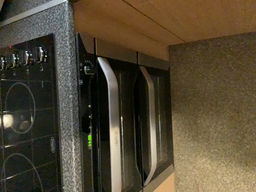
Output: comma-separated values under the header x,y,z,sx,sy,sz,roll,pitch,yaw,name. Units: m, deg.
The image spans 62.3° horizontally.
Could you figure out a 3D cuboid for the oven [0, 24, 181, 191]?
x,y,z,sx,sy,sz,roll,pitch,yaw,name
-0.170,0.120,1.070,0.600,0.880,0.610,-2,91,31,oven
